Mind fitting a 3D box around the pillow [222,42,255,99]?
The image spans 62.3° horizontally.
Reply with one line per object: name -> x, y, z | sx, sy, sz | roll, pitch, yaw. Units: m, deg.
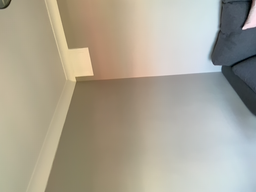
pillow -> 1.200, -0.250, 2.020 | 0.560, 0.290, 0.270 | -93, 12, -51
